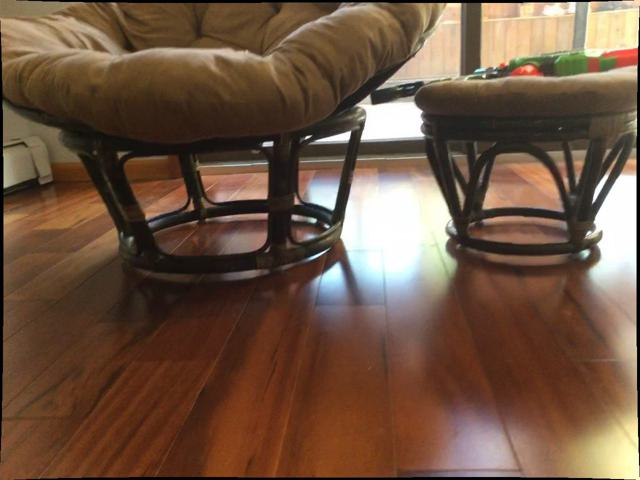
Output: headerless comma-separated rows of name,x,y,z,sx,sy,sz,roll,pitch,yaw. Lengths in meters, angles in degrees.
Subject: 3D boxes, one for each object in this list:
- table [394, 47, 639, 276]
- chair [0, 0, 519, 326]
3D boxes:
table,0.460,-0.210,1.300,0.540,0.410,0.540,-1,17,4
chair,-0.240,-0.380,1.420,1.119,0.761,1.120,-1,17,4
